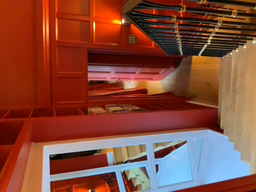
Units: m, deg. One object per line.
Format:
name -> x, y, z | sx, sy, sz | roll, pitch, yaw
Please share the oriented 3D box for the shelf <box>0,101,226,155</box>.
shelf -> -0.250, 0.360, 3.210 | 1.030, 3.480, 0.410 | -166, 77, -68
